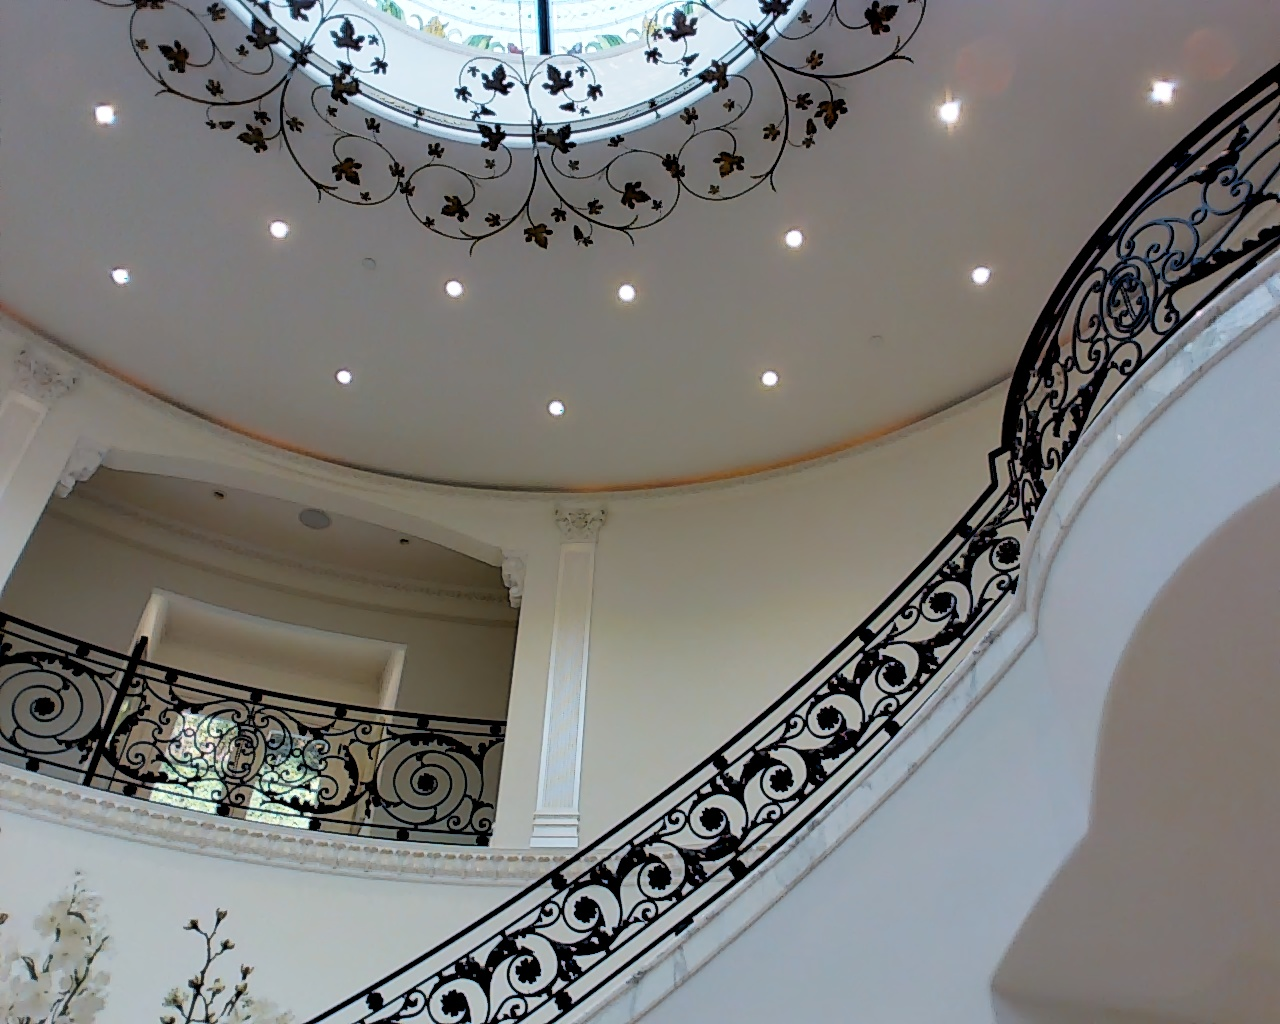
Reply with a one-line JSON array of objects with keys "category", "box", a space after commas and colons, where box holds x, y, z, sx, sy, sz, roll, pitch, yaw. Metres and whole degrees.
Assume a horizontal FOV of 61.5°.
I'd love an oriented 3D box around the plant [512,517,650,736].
[{"category": "plant", "box": [-0.400, 0.830, 7.910, 0.720, 1.350, 0.640, -15, -44, 18]}]
